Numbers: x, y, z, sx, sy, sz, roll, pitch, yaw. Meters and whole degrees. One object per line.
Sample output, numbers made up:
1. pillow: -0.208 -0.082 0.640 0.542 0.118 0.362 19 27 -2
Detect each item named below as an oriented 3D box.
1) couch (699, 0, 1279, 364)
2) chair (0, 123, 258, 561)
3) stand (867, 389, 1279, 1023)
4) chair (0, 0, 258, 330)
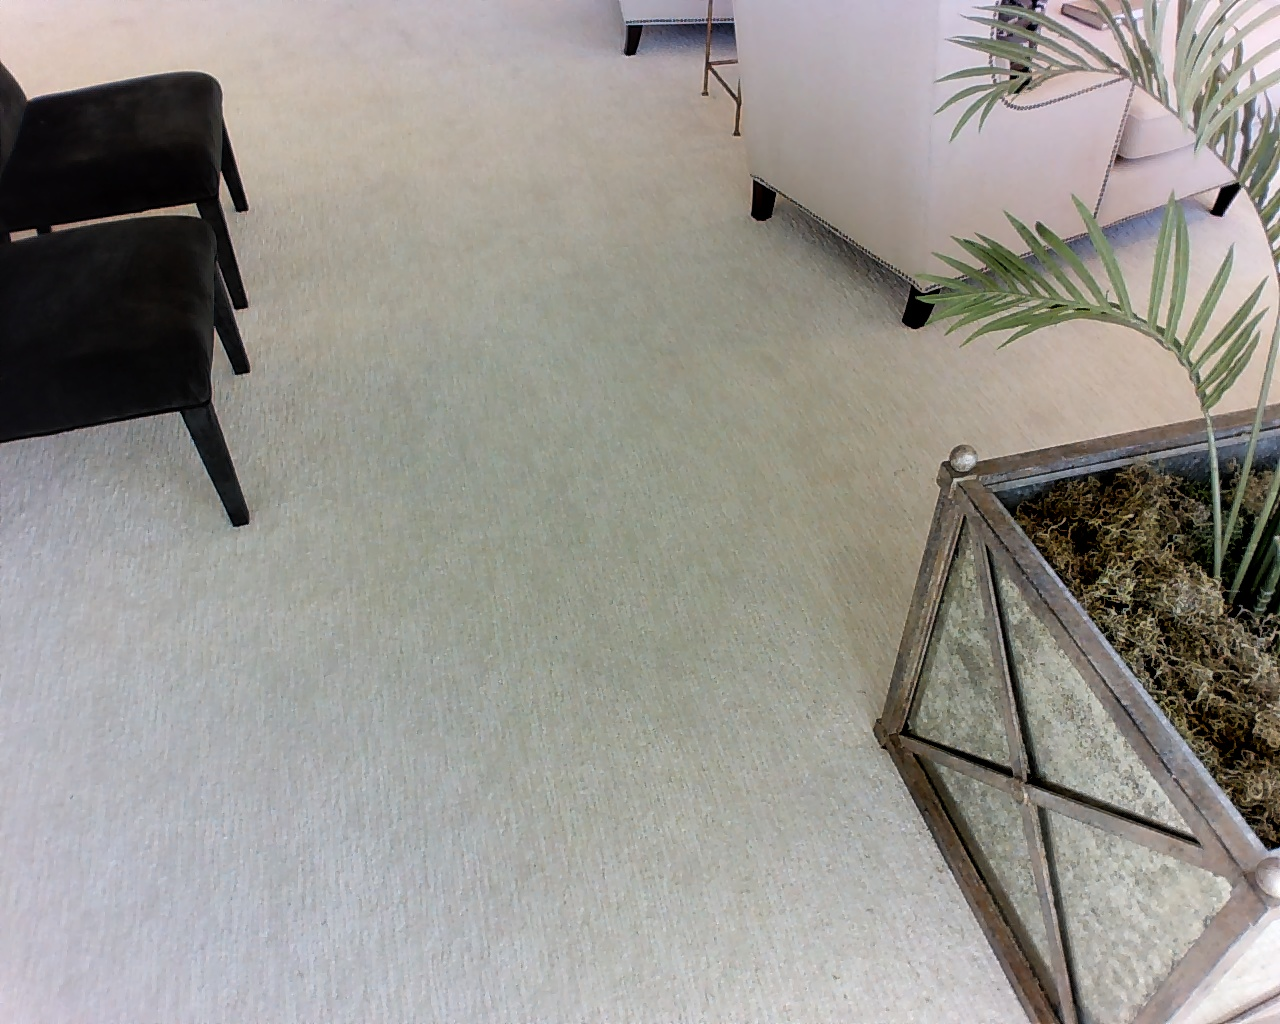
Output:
1. couch: 1.110 -1.280 3.040 1.630 0.950 0.890 -23 48 -22
2. chair: -1.240 -0.360 2.290 0.680 0.620 0.620 -10 45 -10
3. stand: 0.870 0.330 1.560 0.750 0.670 0.720 -10 45 -10
4. chair: -1.470 -0.970 2.930 0.690 0.610 0.630 -10 45 -10
